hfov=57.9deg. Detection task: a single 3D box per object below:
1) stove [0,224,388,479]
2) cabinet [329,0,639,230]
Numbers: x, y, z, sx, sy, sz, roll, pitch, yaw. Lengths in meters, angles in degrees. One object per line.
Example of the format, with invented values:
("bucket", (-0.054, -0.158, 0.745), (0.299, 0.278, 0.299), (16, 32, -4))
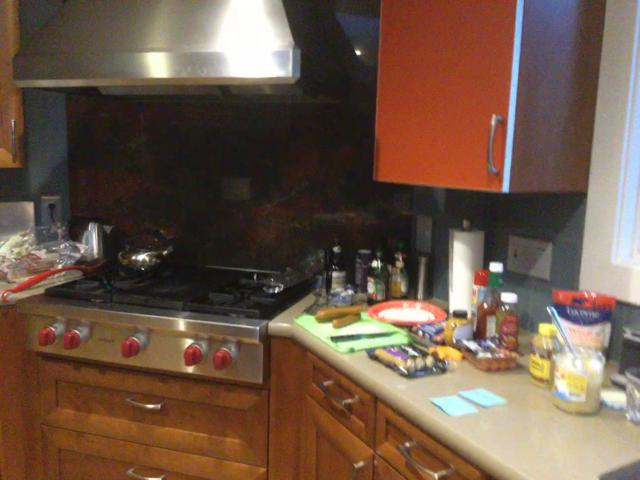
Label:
("stove", (-0.520, 0.560, 2.070), (1.300, 1.010, 0.840), (7, 11, 17))
("cabinet", (0.490, -0.640, 1.560), (0.530, 1.090, 0.810), (-2, 12, -29))
